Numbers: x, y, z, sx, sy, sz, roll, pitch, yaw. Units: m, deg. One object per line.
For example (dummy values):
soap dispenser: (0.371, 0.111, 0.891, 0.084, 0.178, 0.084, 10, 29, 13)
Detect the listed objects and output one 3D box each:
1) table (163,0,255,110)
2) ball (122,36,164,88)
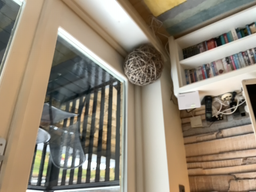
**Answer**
table: (0.940, -0.370, 1.430, 1.320, 0.560, 0.370, -17, 148, 30)
ball: (0.110, -0.240, 1.560, 0.210, 0.240, 0.230, -16, 149, 28)
